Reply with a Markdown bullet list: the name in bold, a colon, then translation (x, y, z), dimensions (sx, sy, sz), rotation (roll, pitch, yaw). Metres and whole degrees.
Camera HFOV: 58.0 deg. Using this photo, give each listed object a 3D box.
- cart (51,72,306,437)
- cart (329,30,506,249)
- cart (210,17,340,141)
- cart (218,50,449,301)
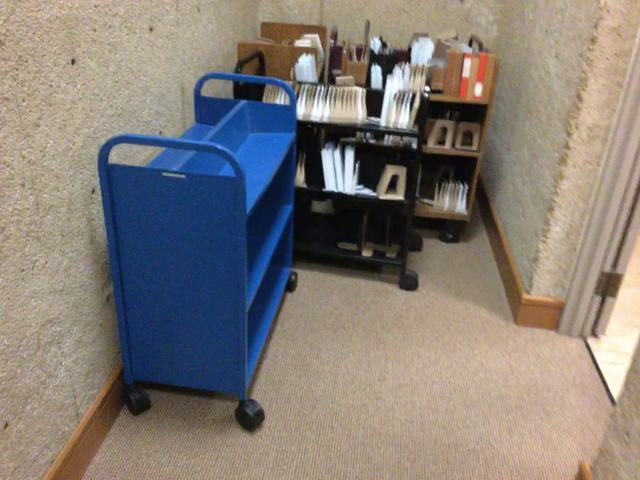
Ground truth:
- **cart**: translation (-0.420, -0.020, 2.320), dimensions (0.530, 1.050, 1.050), rotation (4, 28, 8)
- **cart**: translation (0.520, -0.590, 3.360), dimensions (0.870, 1.110, 0.520), rotation (4, 28, 8)
- **cart**: translation (-0.210, -1.010, 3.470), dimensions (0.510, 0.470, 1.120), rotation (4, 28, 8)
- **cart**: translation (0.100, -0.360, 3.020), dimensions (1.000, 1.080, 0.660), rotation (4, 28, 8)
